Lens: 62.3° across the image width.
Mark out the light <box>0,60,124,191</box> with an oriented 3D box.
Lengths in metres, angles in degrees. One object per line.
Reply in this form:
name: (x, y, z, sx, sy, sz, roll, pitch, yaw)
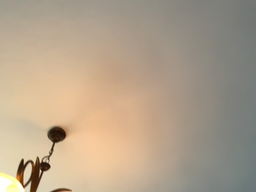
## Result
light: (-0.420, 0.460, 0.850, 0.580, 0.610, 0.900, 48, -159, -40)
